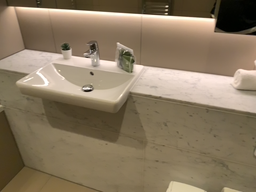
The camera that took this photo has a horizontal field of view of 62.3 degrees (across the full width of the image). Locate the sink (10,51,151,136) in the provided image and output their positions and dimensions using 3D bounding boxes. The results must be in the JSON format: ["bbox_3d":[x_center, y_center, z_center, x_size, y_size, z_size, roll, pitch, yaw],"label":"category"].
[{"bbox_3d":[-0.220,-0.060,1.180,0.580,0.170,0.470,11,33,17],"label":"sink"}]
